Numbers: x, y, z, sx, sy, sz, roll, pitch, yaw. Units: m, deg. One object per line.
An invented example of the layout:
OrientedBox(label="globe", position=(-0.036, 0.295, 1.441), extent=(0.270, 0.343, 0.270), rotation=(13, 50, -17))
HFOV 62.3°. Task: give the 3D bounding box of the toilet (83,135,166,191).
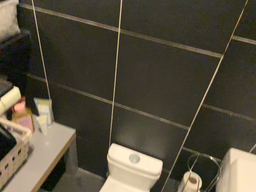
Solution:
OrientedBox(label="toilet", position=(-0.040, 0.490, 0.950), extent=(0.260, 0.400, 0.400), rotation=(17, 41, 9))
